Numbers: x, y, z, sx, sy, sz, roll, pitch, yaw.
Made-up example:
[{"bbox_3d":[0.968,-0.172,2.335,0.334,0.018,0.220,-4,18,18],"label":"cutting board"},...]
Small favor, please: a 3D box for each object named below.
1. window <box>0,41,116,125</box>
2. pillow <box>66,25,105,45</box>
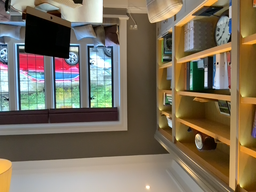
[{"bbox_3d":[-1.600,-0.240,4.050,2.730,1.530,0.190,-1,-177,-7],"label":"window"},{"bbox_3d":[-0.750,-1.100,3.850,0.660,0.290,0.320,-1,-177,-5],"label":"pillow"}]
